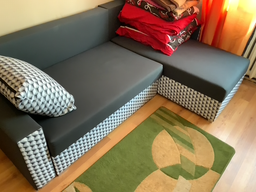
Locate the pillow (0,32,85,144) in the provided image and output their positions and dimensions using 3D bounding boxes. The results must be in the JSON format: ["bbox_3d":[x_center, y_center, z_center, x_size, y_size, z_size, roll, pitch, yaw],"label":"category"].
[{"bbox_3d":[-0.710,-0.100,1.500,0.670,0.380,0.440,33,49,29],"label":"pillow"}]

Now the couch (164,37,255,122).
[{"bbox_3d":[0.870,-0.220,2.270,0.610,0.440,0.710,30,47,27],"label":"couch"}]

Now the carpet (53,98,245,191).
[{"bbox_3d":[0.210,0.580,1.620,0.850,0.030,1.480,32,48,28],"label":"carpet"}]
